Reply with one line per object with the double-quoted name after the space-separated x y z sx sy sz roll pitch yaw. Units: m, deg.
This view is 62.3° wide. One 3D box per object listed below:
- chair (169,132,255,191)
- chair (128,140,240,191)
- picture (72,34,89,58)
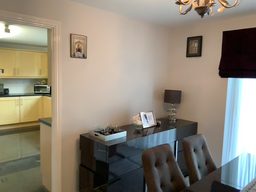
0.750 0.880 1.830 0.470 0.940 0.620 -4 8 -44 "chair"
0.360 0.890 1.520 0.450 0.940 0.600 -4 8 -44 "chair"
-0.540 -0.570 2.420 0.030 0.240 0.210 8 8 43 "picture"
